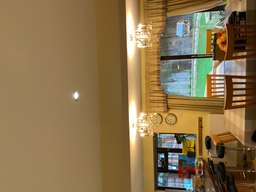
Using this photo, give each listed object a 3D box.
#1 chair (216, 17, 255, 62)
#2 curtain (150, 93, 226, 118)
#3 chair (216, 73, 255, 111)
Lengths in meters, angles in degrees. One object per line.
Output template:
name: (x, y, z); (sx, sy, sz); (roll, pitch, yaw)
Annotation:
chair: (1.680, -0.700, 2.680); (0.530, 0.950, 0.460); (-28, -63, -78)
curtain: (1.350, 0.220, 4.900); (0.190, 1.660, 0.530); (-21, -70, -78)
chair: (1.700, -0.070, 2.730); (0.550, 0.960, 0.440); (-28, -63, -78)
